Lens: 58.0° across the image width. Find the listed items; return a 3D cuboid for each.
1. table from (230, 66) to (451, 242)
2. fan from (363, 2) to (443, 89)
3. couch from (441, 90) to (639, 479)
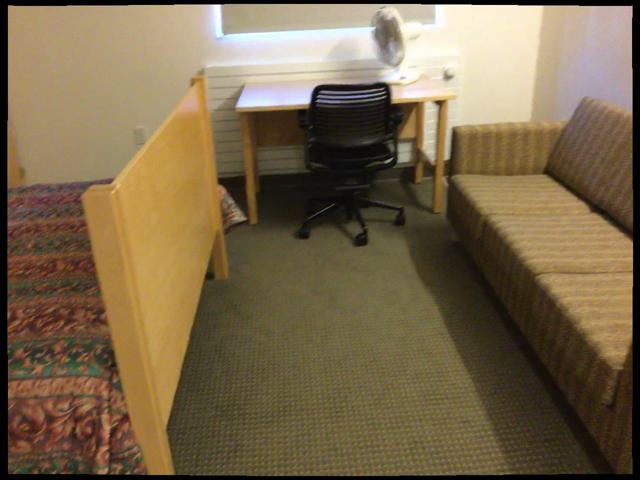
[{"bbox_3d":[0.120,-0.581,3.670,1.188,0.831,0.880,-3,24,0],"label":"table"},{"bbox_3d":[0.499,-1.192,3.510,0.290,0.451,0.380,-19,29,-30],"label":"fan"},{"bbox_3d":[1.198,0.020,2.260,0.988,0.801,1.941,-3,25,0],"label":"couch"}]
